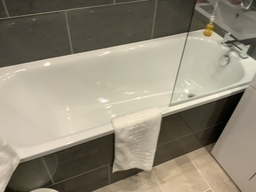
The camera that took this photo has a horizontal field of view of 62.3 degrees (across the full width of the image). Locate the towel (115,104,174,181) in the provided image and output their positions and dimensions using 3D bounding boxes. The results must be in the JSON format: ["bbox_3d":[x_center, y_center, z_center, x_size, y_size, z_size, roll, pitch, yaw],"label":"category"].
[{"bbox_3d":[0.070,0.280,1.190,0.270,0.500,0.090,-14,47,-17],"label":"towel"}]
